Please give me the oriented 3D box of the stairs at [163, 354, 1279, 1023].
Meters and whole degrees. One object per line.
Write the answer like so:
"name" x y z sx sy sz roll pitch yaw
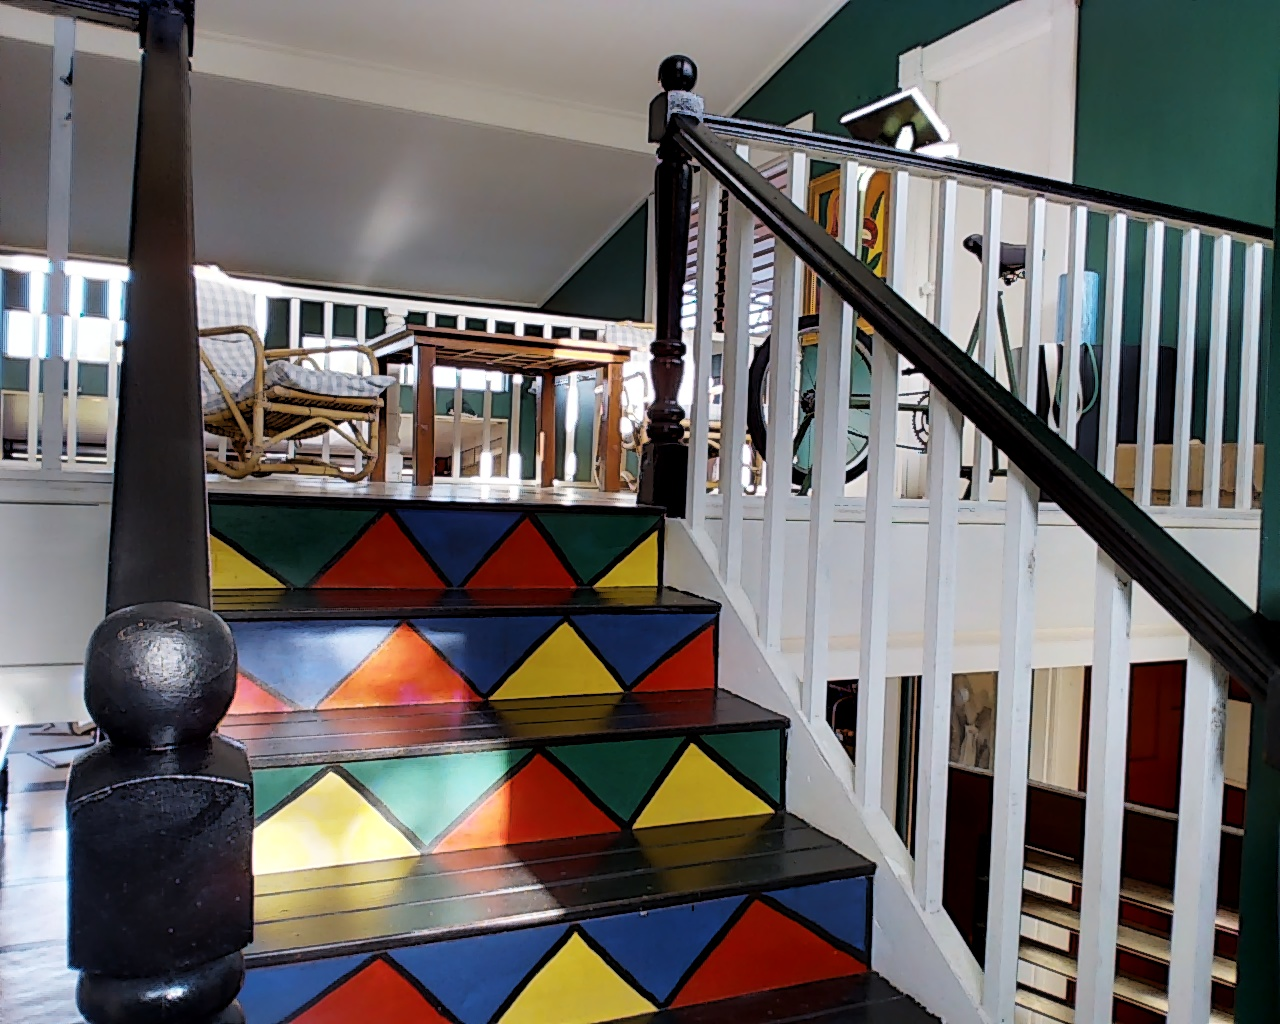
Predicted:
"stairs" -0.040 0.660 1.440 1.050 0.360 2.140 1 -33 -25
